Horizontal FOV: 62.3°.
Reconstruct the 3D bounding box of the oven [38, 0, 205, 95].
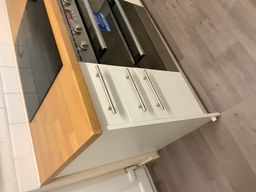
[{"bbox_3d":[-0.050,-0.420,1.550,0.600,0.900,0.600,-41,61,41],"label":"oven"}]
